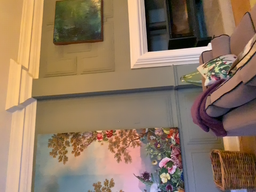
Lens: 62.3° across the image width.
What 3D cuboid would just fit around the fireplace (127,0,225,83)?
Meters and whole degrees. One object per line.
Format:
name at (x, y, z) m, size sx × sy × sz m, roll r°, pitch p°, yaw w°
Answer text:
fireplace at (0.820, -1.470, 4.250) m, size 0.930 × 1.550 × 2.130 m, roll 64°, pitch -157°, yaw -73°

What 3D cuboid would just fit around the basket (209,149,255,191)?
basket at (1.450, 0.990, 2.920) m, size 0.540 × 0.450 × 0.480 m, roll 62°, pitch -155°, yaw -75°
